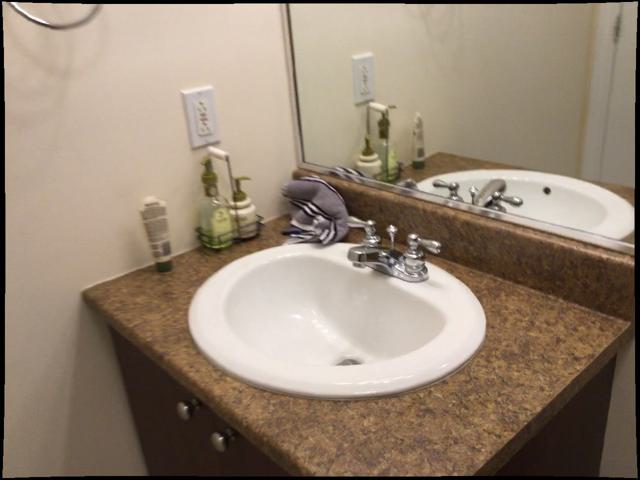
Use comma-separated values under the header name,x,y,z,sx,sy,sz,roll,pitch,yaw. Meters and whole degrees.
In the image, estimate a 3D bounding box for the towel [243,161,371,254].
name,x,y,z,sx,sy,sz,roll,pitch,yaw
towel,-0.030,-0.080,1.270,0.150,0.110,0.240,-26,33,-37
